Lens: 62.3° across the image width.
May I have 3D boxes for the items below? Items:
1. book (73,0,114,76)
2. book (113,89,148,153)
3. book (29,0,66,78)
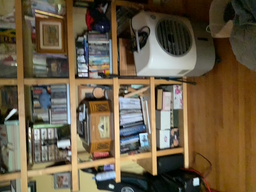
[{"bbox_3d":[-0.330,-0.590,2.000,0.260,0.300,0.780,174,94,-67],"label":"book"},{"bbox_3d":[0.020,0.240,2.200,0.220,0.270,0.610,177,91,-67],"label":"book"},{"bbox_3d":[-0.700,-0.530,1.830,0.240,0.260,0.720,174,94,-67],"label":"book"}]
